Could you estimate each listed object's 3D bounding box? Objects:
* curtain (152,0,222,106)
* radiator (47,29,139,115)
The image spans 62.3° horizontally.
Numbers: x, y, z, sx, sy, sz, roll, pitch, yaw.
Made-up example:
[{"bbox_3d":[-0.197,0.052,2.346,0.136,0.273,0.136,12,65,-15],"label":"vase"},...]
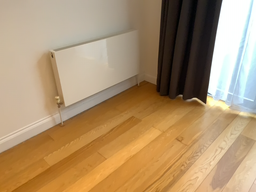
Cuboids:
[{"bbox_3d":[0.660,-1.100,2.330,0.660,2.460,0.280,25,39,37],"label":"curtain"},{"bbox_3d":[-0.310,-0.340,2.530,0.150,0.660,1.210,23,38,36],"label":"radiator"}]
